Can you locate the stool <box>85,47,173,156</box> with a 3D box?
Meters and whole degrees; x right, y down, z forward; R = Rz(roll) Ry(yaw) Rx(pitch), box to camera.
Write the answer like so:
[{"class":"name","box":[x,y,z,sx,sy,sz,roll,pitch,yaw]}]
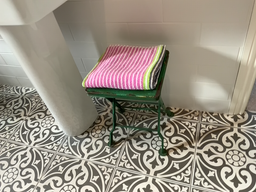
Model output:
[{"class":"stool","box":[0.040,0.030,0.960,0.280,0.400,0.260,7,48,17]}]
